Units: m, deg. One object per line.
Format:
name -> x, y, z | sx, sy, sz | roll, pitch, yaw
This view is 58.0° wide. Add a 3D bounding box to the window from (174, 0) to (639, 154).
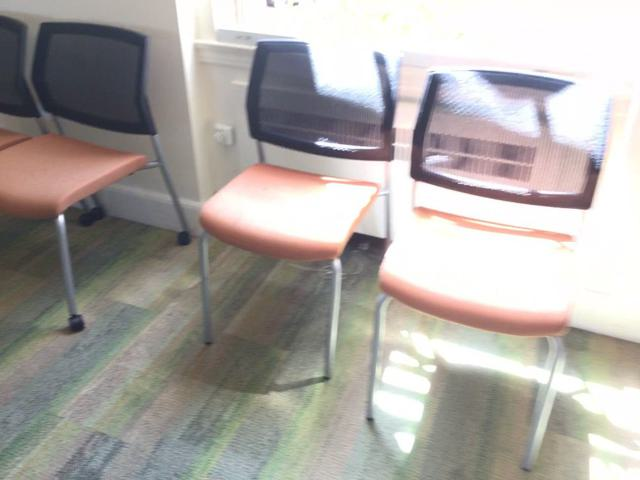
window -> 0.270, -0.770, 1.920 | 1.420, 0.560, 0.510 | 14, 31, 16
